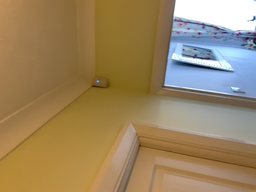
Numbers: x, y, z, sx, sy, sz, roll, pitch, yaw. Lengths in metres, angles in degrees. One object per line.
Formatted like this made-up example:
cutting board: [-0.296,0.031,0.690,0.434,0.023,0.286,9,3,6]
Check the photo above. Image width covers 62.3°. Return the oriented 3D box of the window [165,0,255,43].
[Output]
window: [1.460,-1.750,3.580,0.040,1.470,1.560,-60,-24,-61]
